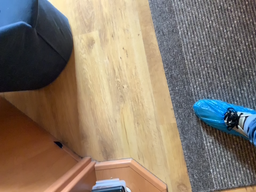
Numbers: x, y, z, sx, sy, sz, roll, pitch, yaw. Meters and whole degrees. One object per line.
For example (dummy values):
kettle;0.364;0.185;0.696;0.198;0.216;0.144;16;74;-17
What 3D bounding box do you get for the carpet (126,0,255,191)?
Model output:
carpet;0.450;-0.460;0.870;0.920;0.060;1.750;-13;90;9
